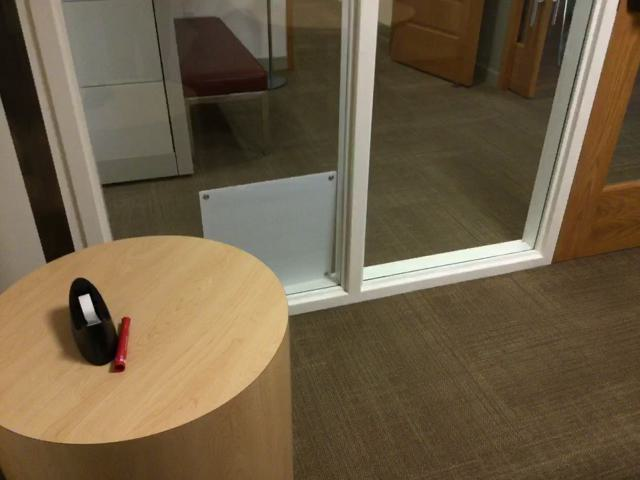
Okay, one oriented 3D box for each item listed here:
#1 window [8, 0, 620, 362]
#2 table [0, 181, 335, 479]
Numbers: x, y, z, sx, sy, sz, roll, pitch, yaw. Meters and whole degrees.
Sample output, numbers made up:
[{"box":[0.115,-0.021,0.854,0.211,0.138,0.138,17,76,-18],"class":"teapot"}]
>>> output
[{"box":[0.080,-0.310,1.850,1.660,1.130,0.270,-11,35,-15],"class":"window"},{"box":[-0.360,0.360,1.250,0.610,0.680,0.620,-11,35,-15],"class":"table"}]
